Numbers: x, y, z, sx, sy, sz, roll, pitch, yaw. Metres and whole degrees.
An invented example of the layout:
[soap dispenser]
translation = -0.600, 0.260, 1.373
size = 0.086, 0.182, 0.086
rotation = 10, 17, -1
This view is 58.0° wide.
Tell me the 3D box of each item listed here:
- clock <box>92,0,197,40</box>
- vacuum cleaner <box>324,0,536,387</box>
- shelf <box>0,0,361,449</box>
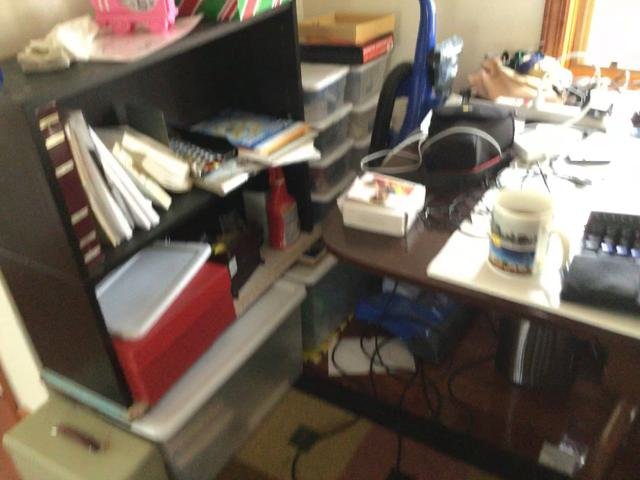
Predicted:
[clock]
translation = -0.360, -0.510, 1.180
size = 0.140, 0.160, 0.150
rotation = 17, 32, 26
[vacuum cleaner]
translation = 0.290, -0.200, 1.630
size = 0.350, 1.110, 0.430
rotation = 17, 32, 26
[shelf]
translation = -0.320, -0.210, 1.370
size = 0.420, 0.880, 0.910
rotation = 17, 32, 26
